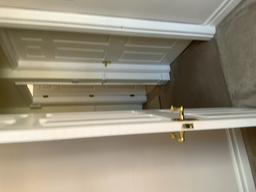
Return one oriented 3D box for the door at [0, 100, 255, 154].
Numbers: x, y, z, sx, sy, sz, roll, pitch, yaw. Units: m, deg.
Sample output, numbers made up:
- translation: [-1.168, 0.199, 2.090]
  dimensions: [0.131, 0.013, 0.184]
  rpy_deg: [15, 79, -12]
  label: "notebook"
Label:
- translation: [0.070, 0.120, 1.330]
  dimensions: [0.910, 2.120, 0.110]
  rpy_deg: [-178, 87, -73]
  label: "door"
